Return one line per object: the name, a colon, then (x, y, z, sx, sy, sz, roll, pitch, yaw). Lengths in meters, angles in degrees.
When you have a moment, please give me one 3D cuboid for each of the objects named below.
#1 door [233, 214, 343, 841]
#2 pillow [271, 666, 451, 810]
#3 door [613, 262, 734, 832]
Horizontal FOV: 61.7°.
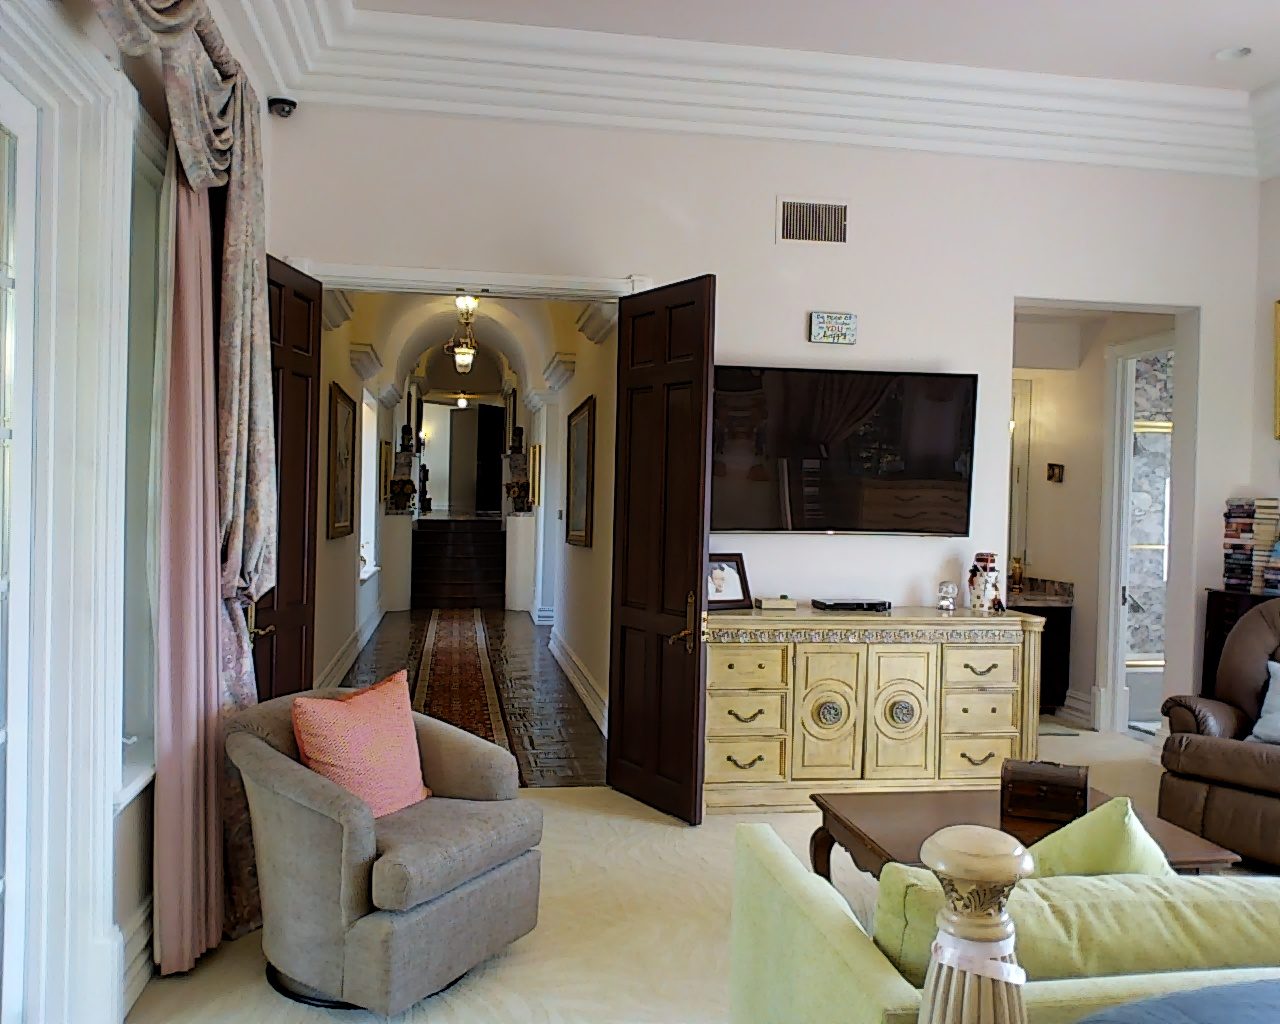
door: (-1.520, 0.060, 4.690, 0.140, 2.500, 0.840, 1, 0, 3)
pillow: (-0.840, 0.700, 3.300, 0.240, 0.400, 0.520, -7, -15, 25)
door: (0.140, 0.150, 4.970, 0.140, 2.450, 0.770, 1, 0, -31)
